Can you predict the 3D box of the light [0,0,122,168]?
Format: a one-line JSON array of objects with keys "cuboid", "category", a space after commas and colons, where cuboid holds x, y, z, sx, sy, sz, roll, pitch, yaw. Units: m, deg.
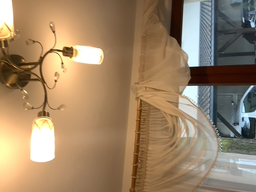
[{"cuboid": [-0.370, -0.080, 0.950, 0.330, 0.660, 0.940, 3, -21, 17], "category": "light"}]
